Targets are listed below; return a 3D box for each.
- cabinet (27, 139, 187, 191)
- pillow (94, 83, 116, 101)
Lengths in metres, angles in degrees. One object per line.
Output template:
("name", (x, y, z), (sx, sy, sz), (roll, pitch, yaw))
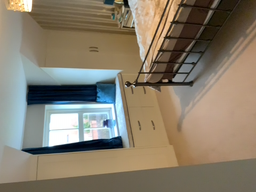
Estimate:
("cabinet", (-0.300, 1.260, 3.130), (0.600, 2.080, 0.940), (110, 154, -51))
("pillow", (-0.470, -0.090, 4.320), (0.180, 0.410, 0.350), (-173, 83, -74))
